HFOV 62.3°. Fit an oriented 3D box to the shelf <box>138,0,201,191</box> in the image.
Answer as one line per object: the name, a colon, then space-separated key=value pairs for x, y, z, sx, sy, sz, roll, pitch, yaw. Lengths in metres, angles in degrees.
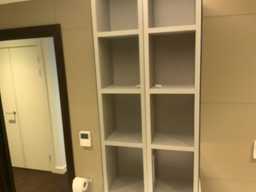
shelf: x=0.200 y=-0.030 z=1.010 sx=0.240 sy=1.060 sz=0.230 roll=0 pitch=12 yaw=14
